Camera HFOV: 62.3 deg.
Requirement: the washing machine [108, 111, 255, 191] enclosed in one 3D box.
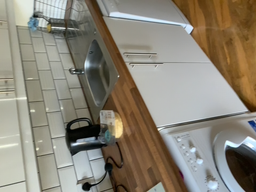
[{"bbox_3d":[0.480,0.520,1.210,0.630,0.910,0.550,-58,46,45],"label":"washing machine"}]
